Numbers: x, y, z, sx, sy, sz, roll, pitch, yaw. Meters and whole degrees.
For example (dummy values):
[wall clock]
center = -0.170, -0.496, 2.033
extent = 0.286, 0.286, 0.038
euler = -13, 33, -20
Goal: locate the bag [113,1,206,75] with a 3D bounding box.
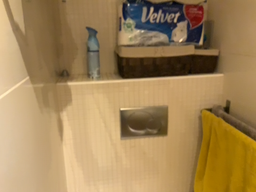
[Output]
[bag]
center = 0.160, -0.310, 1.150
extent = 0.460, 0.350, 0.140
euler = -4, 16, -9
